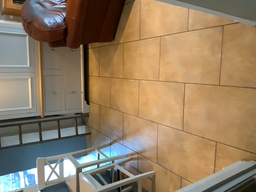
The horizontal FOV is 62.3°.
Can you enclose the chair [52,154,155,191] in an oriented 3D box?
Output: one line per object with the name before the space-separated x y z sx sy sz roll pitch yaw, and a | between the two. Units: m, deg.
chair | -0.210 0.920 2.020 0.400 0.880 0.410 12 104 54
